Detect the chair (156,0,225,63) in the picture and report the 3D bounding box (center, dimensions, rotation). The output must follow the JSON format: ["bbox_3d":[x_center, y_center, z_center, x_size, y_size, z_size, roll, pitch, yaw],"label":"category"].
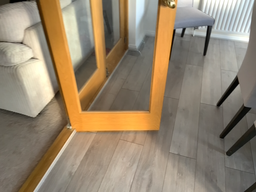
[{"bbox_3d":[0.700,-1.040,2.510,0.470,1.050,0.670,-7,41,-9],"label":"chair"}]
